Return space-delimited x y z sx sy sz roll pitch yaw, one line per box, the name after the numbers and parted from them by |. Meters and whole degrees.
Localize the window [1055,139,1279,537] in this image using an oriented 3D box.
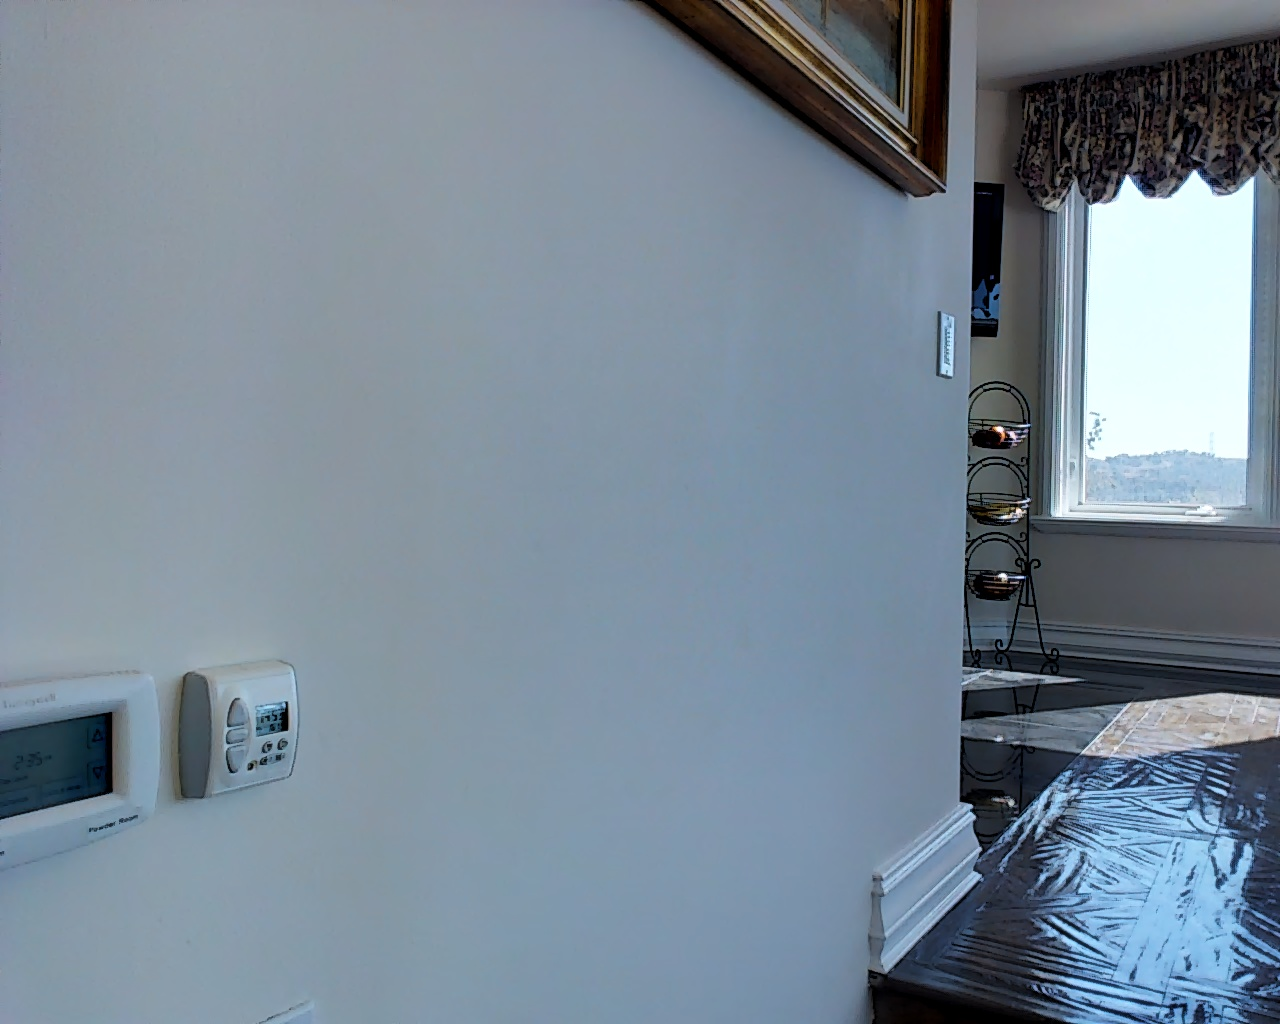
2.410 -0.750 4.910 0.880 1.700 0.230 1 1 33 | window
